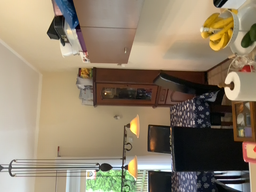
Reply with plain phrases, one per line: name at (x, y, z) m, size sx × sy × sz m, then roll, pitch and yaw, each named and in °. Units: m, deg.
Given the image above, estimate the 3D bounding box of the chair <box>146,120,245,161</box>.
chair at (0.900, 0.610, 3.000) m, size 0.570 × 1.200 × 0.430 m, roll -160°, pitch 72°, yaw -85°

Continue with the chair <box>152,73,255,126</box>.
chair at (0.940, 0.070, 2.730) m, size 0.430 × 1.200 × 0.590 m, roll 120°, pitch 151°, yaw -79°

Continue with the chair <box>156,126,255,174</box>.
chair at (0.970, 0.610, 2.330) m, size 0.660 × 1.190 × 0.430 m, roll 109°, pitch 162°, yaw -72°
